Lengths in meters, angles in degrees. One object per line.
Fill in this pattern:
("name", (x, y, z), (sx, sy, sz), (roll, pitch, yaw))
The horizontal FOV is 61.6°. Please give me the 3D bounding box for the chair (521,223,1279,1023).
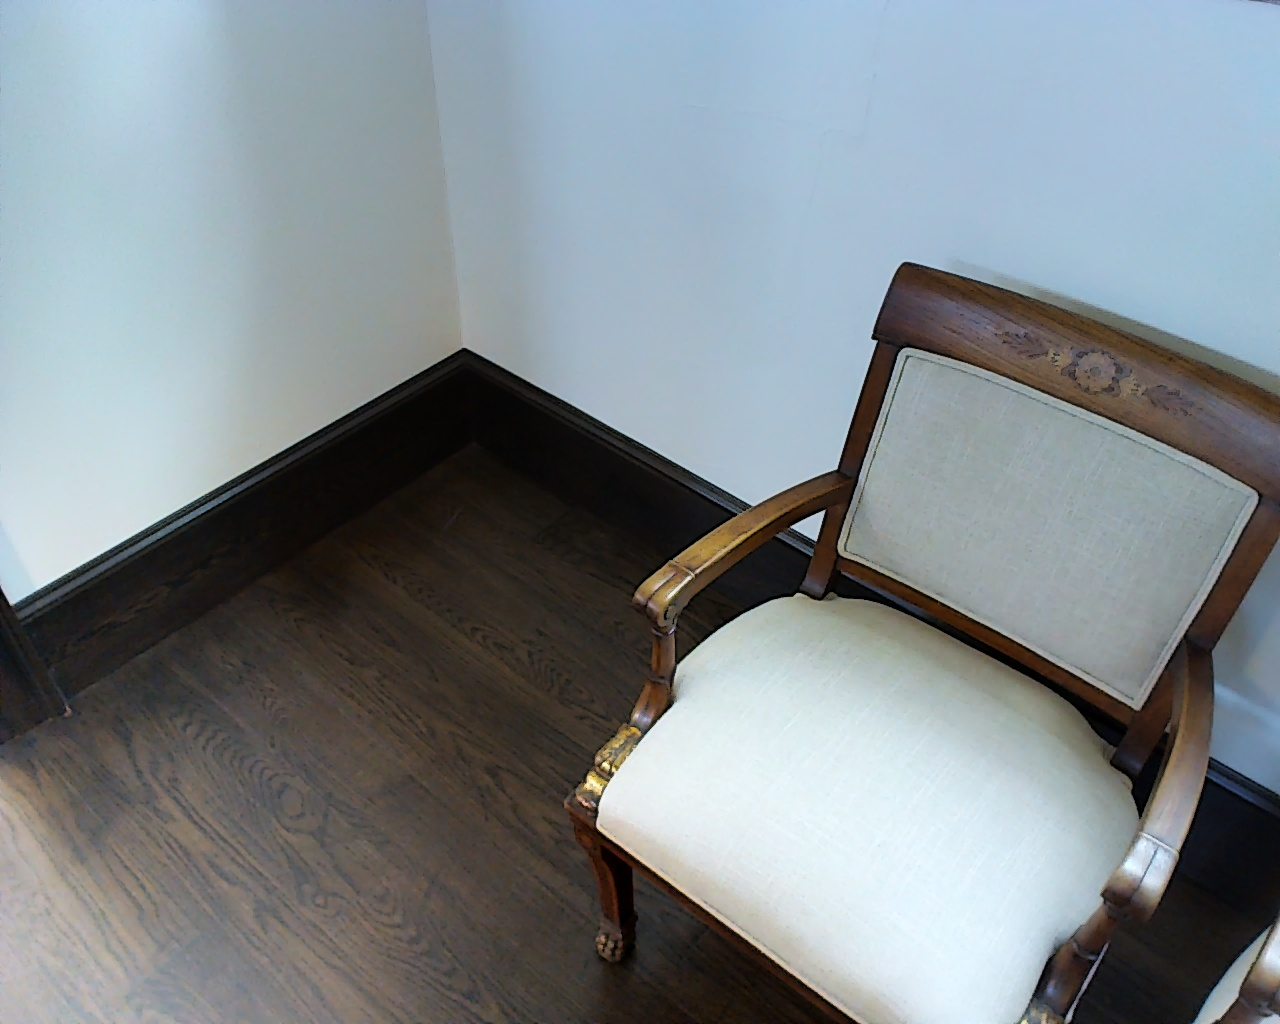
("chair", (0.340, 0.280, 1.280), (0.620, 0.890, 0.660), (31, 50, 28))
